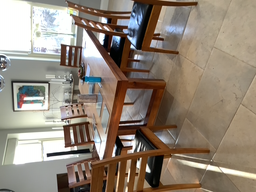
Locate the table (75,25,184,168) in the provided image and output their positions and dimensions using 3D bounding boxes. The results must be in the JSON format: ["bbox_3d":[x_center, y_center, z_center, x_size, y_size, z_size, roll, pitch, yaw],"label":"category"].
[{"bbox_3d":[-0.220,-0.170,3.290,2.080,0.780,1.230,-123,40,-52],"label":"table"}]

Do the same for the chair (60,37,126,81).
[{"bbox_3d":[-0.690,-0.680,4.010,0.590,1.070,0.560,-123,40,-52],"label":"chair"}]

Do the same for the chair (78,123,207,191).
[{"bbox_3d":[0.110,0.620,2.130,0.660,1.070,0.470,-152,65,-64],"label":"chair"}]

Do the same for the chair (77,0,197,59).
[{"bbox_3d":[0.060,-0.820,2.280,0.480,1.070,0.600,-118,36,-48],"label":"chair"}]
